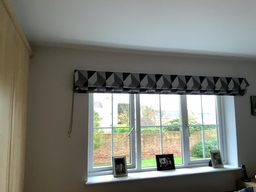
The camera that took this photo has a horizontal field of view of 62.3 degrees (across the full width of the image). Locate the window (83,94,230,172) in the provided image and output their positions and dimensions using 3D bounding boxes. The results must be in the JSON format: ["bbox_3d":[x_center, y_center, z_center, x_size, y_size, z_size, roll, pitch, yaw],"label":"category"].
[{"bbox_3d":[0.370,0.410,2.500,1.740,0.830,0.110,1,-6,-11],"label":"window"}]
